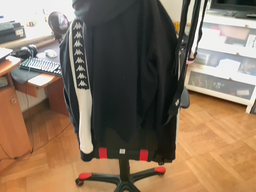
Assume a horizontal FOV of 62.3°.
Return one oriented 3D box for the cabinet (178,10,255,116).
[{"bbox_3d":[1.140,-0.410,2.490,0.850,0.990,0.430,18,35,25],"label":"cabinet"}]
